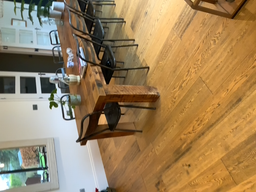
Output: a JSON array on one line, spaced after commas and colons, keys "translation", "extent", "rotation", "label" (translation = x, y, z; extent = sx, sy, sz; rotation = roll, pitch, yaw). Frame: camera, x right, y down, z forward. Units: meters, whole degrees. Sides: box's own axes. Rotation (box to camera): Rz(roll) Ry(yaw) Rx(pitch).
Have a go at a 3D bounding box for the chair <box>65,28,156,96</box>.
[{"translation": [-0.250, -0.390, 2.670], "extent": [0.570, 0.910, 0.540], "rotation": [-62, 39, 42], "label": "chair"}]
